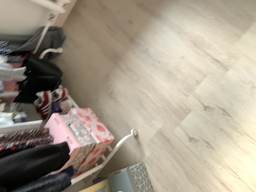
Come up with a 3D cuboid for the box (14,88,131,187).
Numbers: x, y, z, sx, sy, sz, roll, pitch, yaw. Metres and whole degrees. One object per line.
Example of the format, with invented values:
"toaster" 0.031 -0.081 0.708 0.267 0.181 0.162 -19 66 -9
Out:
"box" -0.320 0.230 1.310 0.380 0.490 0.430 -22 78 28
